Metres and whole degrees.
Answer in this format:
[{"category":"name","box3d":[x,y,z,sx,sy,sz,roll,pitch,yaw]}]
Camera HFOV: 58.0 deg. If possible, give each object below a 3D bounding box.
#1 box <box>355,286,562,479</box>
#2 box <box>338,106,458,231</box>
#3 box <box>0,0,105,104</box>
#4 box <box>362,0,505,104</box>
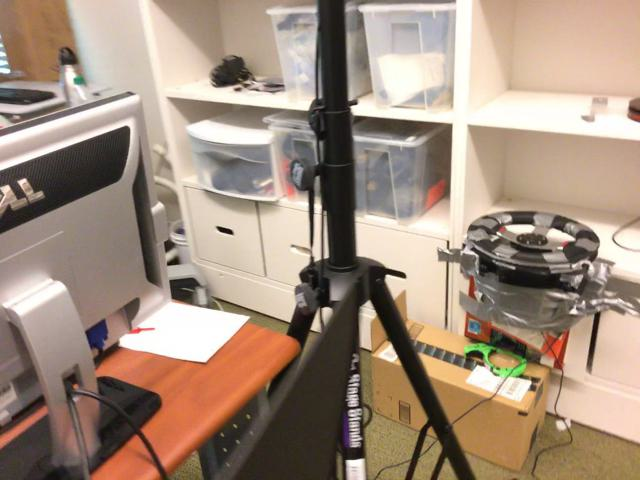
[{"category":"box","box3d":[0.410,0.400,1.740,0.520,0.350,0.270,10,27,34]},{"category":"box","box3d":[0.270,-0.250,1.900,0.240,0.310,0.350,10,27,34]},{"category":"box","box3d":[-1.360,-1.010,2.700,0.370,0.670,0.380,10,27,34]},{"category":"box","box3d":[0.340,-0.570,1.680,0.280,0.280,0.340,10,27,34]}]
